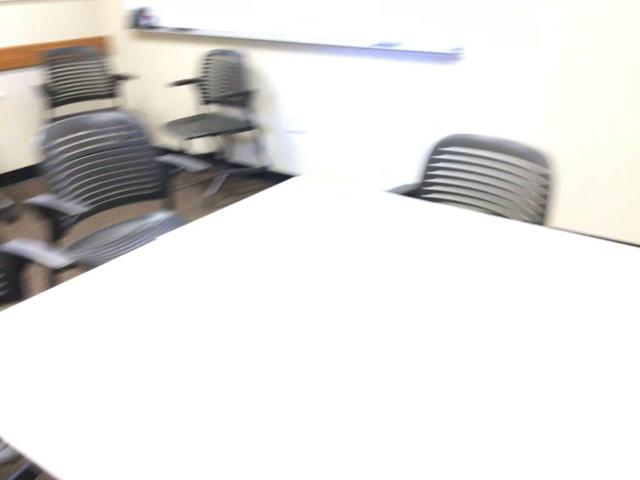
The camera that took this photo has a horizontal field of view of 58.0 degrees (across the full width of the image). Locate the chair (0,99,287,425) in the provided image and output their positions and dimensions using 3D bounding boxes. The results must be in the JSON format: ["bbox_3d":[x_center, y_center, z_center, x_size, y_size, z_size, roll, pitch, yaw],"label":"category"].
[{"bbox_3d":[-0.550,0.020,2.030,0.620,0.850,0.620,14,28,26],"label":"chair"}]

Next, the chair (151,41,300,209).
[{"bbox_3d":[-0.540,-0.730,3.510,0.570,0.820,0.630,16,29,30],"label":"chair"}]
